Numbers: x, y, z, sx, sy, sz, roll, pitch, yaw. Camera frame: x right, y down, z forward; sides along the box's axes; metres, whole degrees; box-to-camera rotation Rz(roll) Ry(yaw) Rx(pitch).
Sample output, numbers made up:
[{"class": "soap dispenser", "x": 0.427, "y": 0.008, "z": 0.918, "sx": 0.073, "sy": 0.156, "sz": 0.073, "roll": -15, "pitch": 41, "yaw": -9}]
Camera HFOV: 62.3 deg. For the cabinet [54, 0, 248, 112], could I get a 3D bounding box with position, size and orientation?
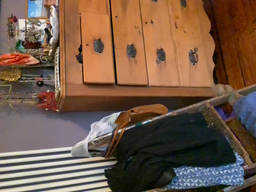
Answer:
[{"class": "cabinet", "x": 0.120, "y": -0.500, "z": 1.750, "sx": 0.570, "sy": 1.350, "sz": 1.130, "roll": 143, "pitch": 124, "yaw": -65}]
